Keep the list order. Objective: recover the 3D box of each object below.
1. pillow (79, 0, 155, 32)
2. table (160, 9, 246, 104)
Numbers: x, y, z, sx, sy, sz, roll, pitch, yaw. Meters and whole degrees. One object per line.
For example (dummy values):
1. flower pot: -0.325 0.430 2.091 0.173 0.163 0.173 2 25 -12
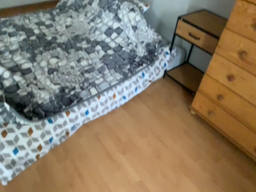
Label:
1. pillow: -0.140 -1.020 2.370 0.550 0.220 0.670 -25 52 -29
2. table: 0.620 -0.350 1.890 0.370 0.630 0.420 -25 52 -29
